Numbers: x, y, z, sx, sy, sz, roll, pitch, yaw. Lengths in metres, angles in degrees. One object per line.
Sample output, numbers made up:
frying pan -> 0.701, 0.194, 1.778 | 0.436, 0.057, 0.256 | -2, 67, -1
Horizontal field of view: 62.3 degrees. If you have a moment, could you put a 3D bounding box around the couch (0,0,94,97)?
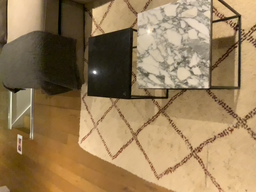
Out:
couch -> -1.100, -0.470, 2.210 | 1.110, 0.990, 0.880 | 5, 94, 43

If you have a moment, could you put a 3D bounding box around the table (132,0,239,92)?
table -> 0.310, -0.230, 1.150 | 0.410, 0.400, 0.410 | 2, 93, 44

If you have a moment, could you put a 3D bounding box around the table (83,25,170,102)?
table -> -0.010, -0.190, 1.450 | 0.420, 0.410, 0.420 | 4, 94, 44
